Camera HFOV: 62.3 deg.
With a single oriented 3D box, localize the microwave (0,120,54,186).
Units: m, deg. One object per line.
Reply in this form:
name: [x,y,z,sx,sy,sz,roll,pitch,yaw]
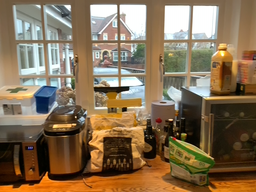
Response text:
microwave: [-0.710,0.330,1.270,0.450,0.270,0.280,-2,12,-10]
